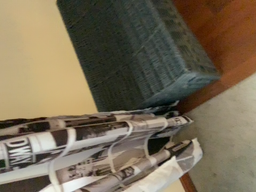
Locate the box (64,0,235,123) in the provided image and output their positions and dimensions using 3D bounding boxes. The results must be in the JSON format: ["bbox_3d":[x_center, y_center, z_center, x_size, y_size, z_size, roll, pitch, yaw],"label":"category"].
[{"bbox_3d":[0.050,-0.400,1.130,0.440,0.460,0.940,-37,68,32],"label":"box"}]
